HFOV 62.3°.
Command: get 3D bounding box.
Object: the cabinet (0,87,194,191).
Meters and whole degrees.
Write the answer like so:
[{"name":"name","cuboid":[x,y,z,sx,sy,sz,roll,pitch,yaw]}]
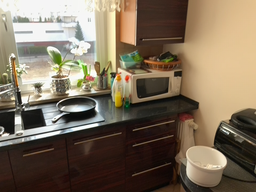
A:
[{"name":"cabinet","cuboid":[-0.670,0.570,1.780,2.490,0.860,0.620,-9,22,-25]}]
